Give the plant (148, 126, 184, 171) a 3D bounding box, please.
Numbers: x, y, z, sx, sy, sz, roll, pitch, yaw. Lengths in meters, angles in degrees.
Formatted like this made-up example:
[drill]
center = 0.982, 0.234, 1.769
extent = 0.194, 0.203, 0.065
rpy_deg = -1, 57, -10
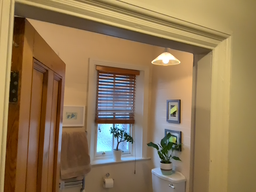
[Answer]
[plant]
center = 0.490, 0.660, 2.780
extent = 0.220, 0.480, 0.440
rpy_deg = 3, -2, -29
